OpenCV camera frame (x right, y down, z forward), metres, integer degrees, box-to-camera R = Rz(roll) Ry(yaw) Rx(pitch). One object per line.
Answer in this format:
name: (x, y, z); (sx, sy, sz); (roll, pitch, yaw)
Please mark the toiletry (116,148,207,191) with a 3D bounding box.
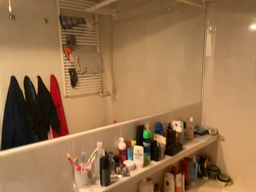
toiletry: (0.200, 0.660, 1.480); (1.240, 0.220, 0.130); (-9, 14, -44)
